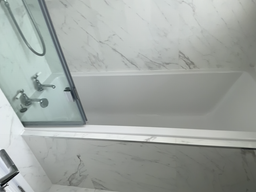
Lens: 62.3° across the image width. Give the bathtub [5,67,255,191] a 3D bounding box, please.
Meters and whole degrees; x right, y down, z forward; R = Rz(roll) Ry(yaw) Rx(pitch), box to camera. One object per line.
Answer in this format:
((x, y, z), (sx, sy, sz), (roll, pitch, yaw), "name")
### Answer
((0.090, 0.230, 1.610), (1.580, 0.570, 0.720), (0, 38, 14), "bathtub")
